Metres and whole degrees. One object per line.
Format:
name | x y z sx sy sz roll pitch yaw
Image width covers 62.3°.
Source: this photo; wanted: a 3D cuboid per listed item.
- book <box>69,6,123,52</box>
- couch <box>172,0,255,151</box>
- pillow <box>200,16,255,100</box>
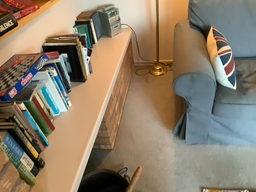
book | -0.280 -0.640 2.010 0.340 0.250 0.460 2 40 13
couch | 1.200 -0.220 1.420 1.750 0.810 0.890 2 40 11
pillow | 0.630 -0.260 1.380 0.150 0.330 0.460 23 41 -2
